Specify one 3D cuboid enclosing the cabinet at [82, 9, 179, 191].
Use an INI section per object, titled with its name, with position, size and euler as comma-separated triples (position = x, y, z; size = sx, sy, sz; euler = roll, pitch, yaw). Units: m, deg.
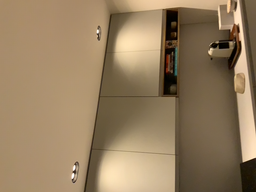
[cabinet]
position = 0.040, 0.780, 2.200
size = 0.310, 0.900, 3.920
euler = 60, -146, -64
